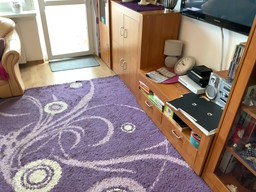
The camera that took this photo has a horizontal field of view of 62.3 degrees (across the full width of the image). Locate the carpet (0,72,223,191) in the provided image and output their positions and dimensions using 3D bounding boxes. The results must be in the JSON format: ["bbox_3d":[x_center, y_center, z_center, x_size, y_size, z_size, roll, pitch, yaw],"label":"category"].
[{"bbox_3d":[-0.460,0.390,2.020,1.610,0.050,2.390,-12,34,-22],"label":"carpet"}]

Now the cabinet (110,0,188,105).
[{"bbox_3d":[0.180,-0.630,2.800,0.530,1.070,0.970,-11,34,-21],"label":"cabinet"}]
